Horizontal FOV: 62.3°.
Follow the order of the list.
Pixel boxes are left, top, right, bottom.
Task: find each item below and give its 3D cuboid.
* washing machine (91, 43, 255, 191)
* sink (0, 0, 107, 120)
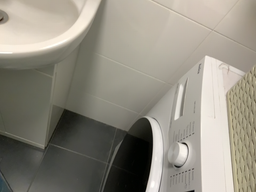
[{"bbox_3d":[0.190,0.400,0.800,0.510,0.860,0.610,23,53,-9],"label":"washing machine"},{"bbox_3d":[-0.340,-0.240,0.510,0.510,0.150,0.420,22,53,-11],"label":"sink"}]
